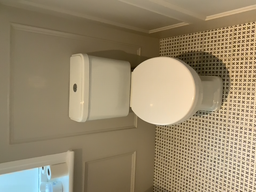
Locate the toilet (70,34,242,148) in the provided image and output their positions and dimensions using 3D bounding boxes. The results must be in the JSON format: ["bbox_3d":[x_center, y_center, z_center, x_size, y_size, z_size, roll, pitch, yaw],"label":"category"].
[{"bbox_3d":[0.150,-0.040,1.270,0.670,0.750,0.420,6,95,52],"label":"toilet"}]
